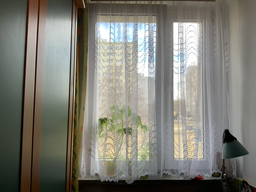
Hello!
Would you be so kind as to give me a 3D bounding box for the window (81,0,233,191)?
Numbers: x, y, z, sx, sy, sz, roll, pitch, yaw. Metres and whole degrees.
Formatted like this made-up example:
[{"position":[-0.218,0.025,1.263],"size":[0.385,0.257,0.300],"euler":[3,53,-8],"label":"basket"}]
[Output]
[{"position":[0.230,-0.060,1.730],"size":[1.140,1.640,0.220],"euler":[1,-3,-2],"label":"window"}]
